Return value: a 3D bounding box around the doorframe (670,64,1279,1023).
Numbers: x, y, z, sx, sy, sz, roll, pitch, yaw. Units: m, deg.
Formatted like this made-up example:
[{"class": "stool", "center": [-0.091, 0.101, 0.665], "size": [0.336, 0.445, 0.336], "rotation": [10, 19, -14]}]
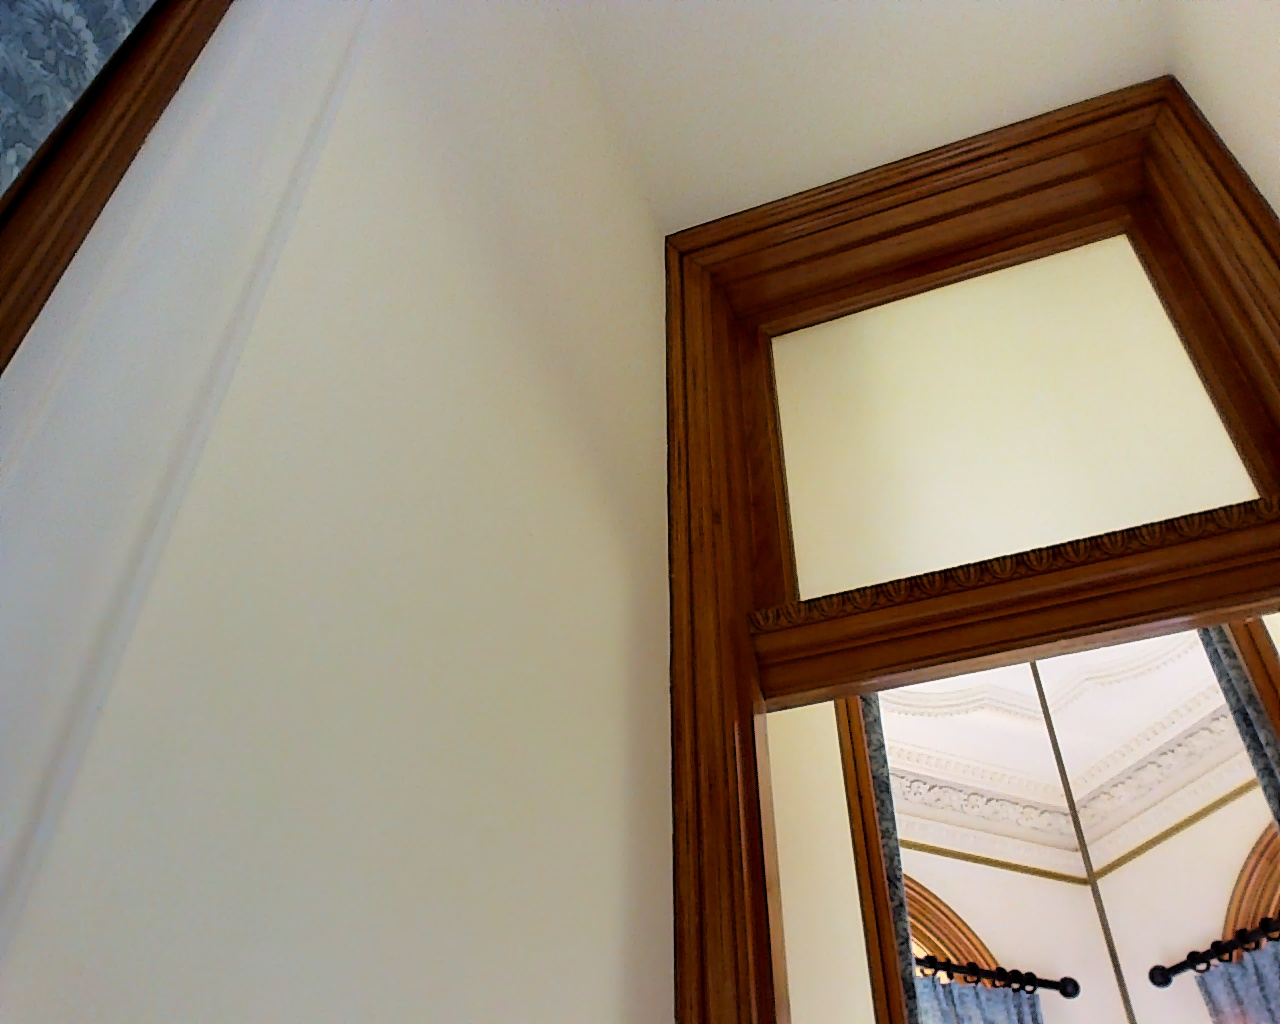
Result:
[{"class": "doorframe", "center": [0.480, 0.670, 0.830], "size": [0.850, 3.131, 0.290], "rotation": [-16, -45, 18]}]
